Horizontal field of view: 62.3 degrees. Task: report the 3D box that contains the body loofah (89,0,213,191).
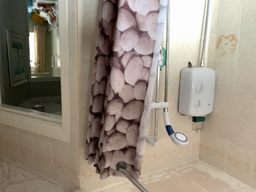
[{"bbox_3d":[0.080,-0.470,0.820,0.370,1.610,0.320,-4,-168,-29],"label":"body loofah"}]
